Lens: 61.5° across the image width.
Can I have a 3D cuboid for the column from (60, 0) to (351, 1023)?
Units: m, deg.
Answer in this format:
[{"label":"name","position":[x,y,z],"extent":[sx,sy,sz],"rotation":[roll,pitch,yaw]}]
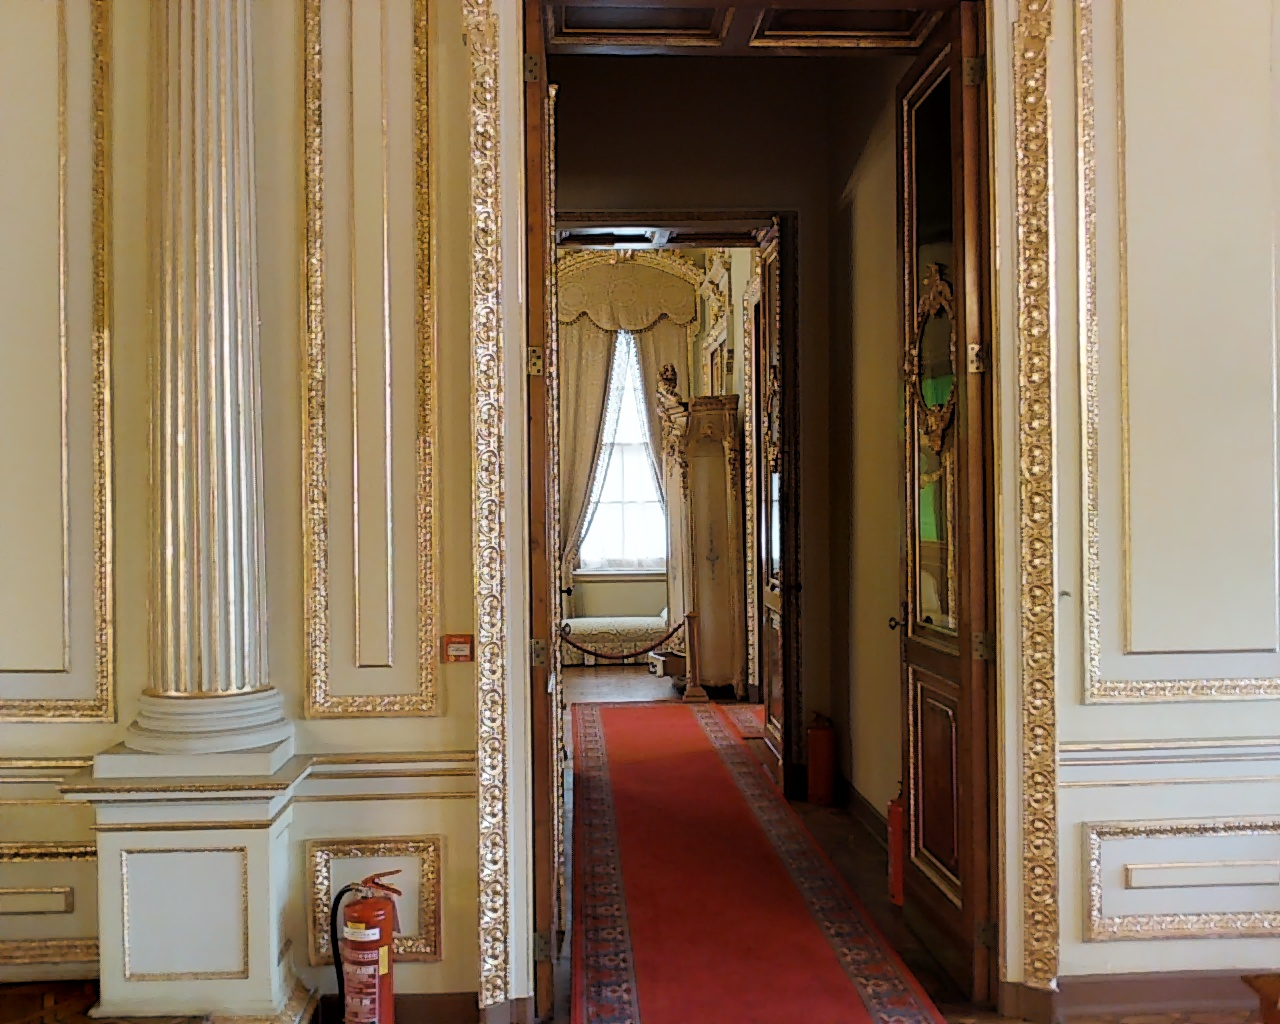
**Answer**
[{"label":"column","position":[-1.319,-0.650,3.310],"extent":[0.720,4.722,0.360],"rotation":[-1,0,-2]}]
